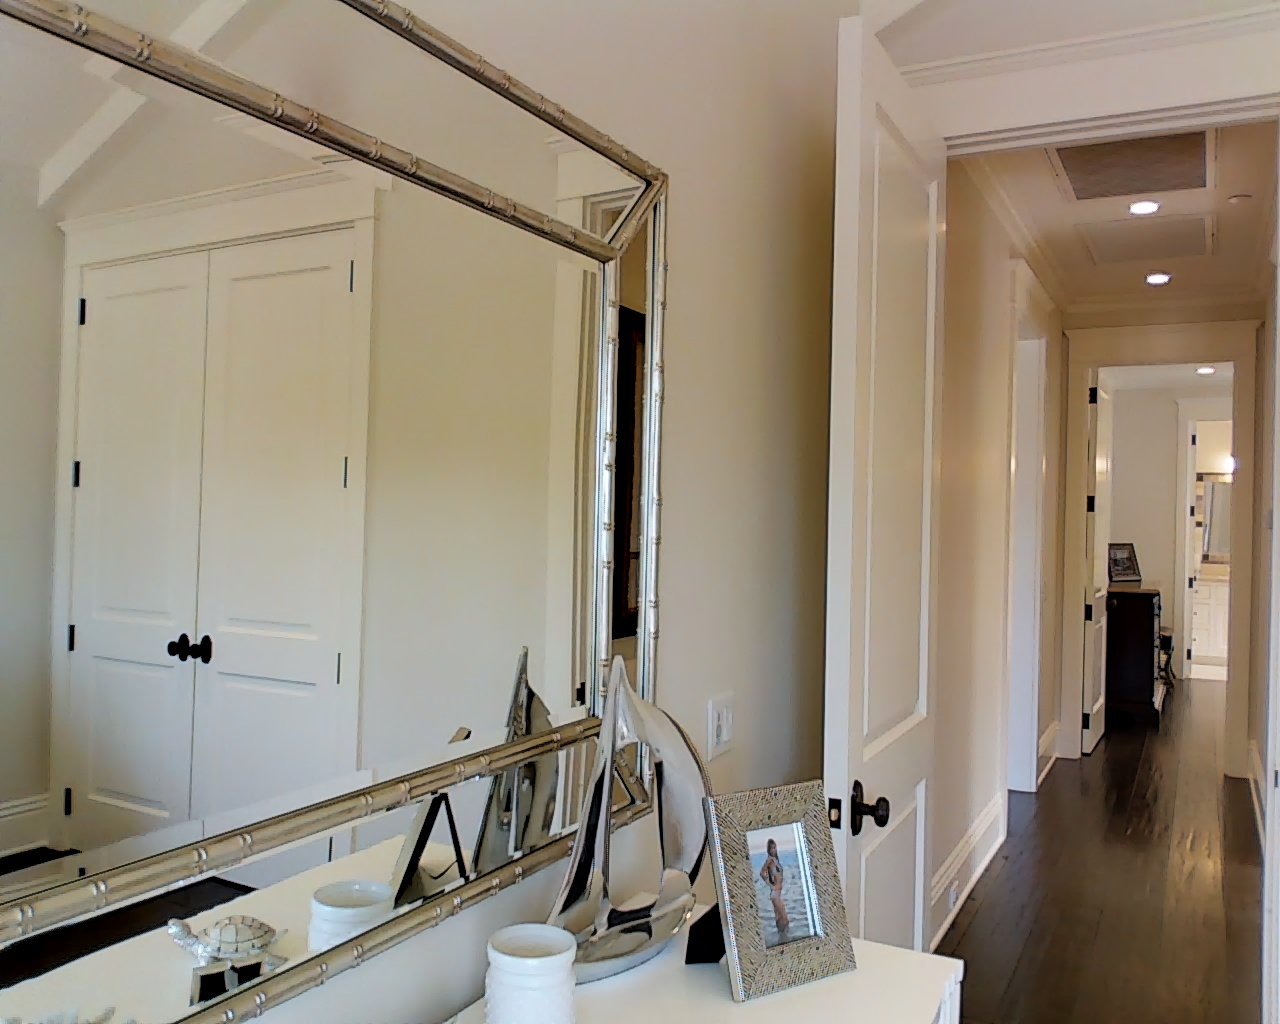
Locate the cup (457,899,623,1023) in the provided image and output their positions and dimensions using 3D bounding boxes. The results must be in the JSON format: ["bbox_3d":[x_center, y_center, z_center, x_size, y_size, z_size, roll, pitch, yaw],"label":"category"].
[{"bbox_3d":[-0.110,0.530,1.190,0.140,0.140,0.120,0,0,27],"label":"cup"}]

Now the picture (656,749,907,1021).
[{"bbox_3d":[0.190,0.490,1.440,0.240,0.270,0.130,-10,-11,-35],"label":"picture"}]
